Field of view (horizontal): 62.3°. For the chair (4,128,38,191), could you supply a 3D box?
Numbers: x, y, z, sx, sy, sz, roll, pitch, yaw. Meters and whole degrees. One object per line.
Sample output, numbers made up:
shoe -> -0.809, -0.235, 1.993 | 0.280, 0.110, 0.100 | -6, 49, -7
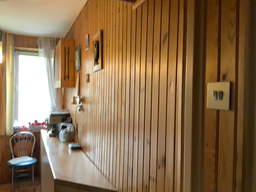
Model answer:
chair -> -1.770, 1.040, 3.550 | 0.460, 0.920, 0.440 | 1, 1, -22
